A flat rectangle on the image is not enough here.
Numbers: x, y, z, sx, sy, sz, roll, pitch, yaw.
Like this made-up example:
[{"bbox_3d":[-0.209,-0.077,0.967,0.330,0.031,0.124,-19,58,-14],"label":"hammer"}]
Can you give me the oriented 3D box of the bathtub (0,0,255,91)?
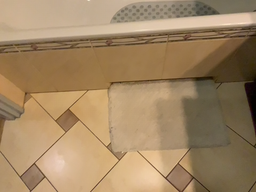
[{"bbox_3d":[0.180,-0.480,1.180,1.680,0.520,0.680,-3,68,3],"label":"bathtub"}]
